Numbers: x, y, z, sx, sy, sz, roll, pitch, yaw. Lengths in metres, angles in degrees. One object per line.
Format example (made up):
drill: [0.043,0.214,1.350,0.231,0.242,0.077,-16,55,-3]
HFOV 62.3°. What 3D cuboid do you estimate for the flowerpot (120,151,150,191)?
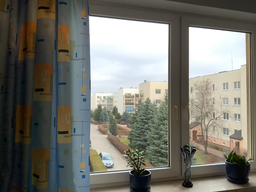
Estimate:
flowerpot: [0.050,0.590,1.640,0.170,0.270,0.220,1,-1,-16]
